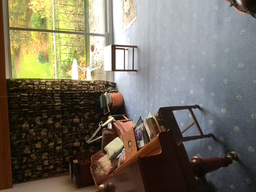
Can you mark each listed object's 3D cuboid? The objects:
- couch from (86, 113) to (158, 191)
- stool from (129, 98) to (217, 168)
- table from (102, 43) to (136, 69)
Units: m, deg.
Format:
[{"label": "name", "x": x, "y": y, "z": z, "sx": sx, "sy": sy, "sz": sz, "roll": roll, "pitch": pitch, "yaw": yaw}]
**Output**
[{"label": "couch", "x": -0.170, "y": 0.940, "z": 3.560, "sx": 1.030, "sy": 0.810, "sz": 0.890, "roll": -138, "pitch": 49, "yaw": -58}, {"label": "stool", "x": 0.450, "y": 0.470, "z": 2.500, "sx": 0.980, "sy": 0.500, "sz": 0.410, "roll": 122, "pitch": 139, "yaw": -52}, {"label": "table", "x": -0.170, "y": -0.700, "z": 3.780, "sx": 0.420, "sy": 0.480, "sz": 0.420, "roll": -165, "pitch": 74, "yaw": -65}]
